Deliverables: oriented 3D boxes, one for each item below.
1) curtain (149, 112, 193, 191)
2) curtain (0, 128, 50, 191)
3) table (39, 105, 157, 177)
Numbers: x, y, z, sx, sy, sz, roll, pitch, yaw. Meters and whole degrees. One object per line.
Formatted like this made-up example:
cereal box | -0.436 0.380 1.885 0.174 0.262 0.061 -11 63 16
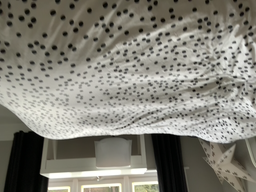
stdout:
curtain | 0.610 1.380 2.600 0.430 2.490 0.110 0 154 -8
curtain | -1.290 1.530 2.490 0.480 2.350 0.130 -1 154 -6
table | -0.370 0.590 2.800 1.330 0.780 0.490 -1 154 -5
